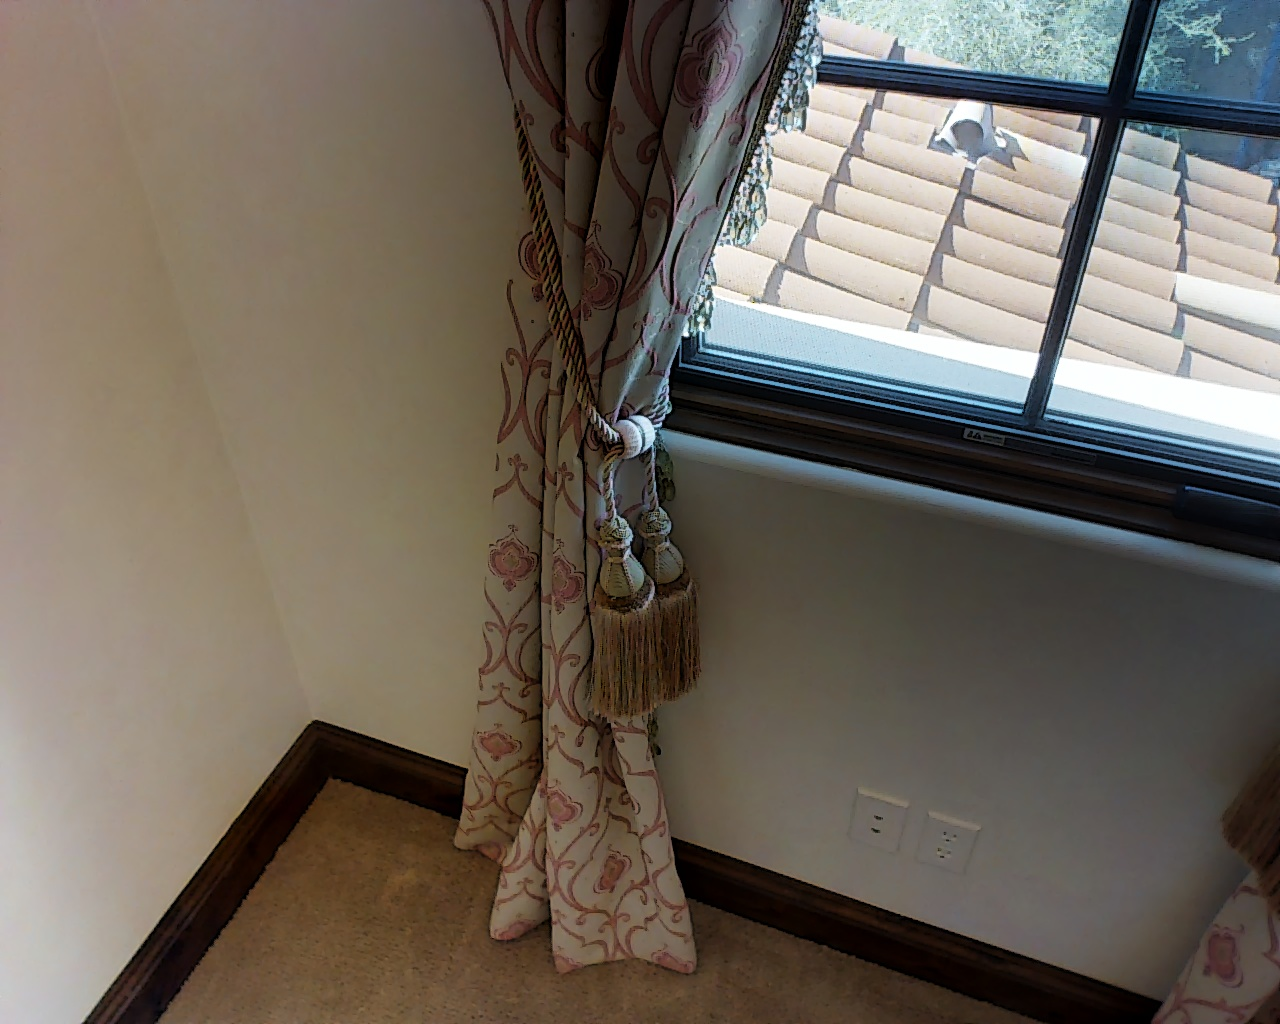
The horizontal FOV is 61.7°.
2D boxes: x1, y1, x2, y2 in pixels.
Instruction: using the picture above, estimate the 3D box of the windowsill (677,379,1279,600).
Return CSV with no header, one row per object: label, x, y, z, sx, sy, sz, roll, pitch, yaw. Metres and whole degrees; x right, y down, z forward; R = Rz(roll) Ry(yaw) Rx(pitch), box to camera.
windowsill,0.390,-0.020,1.090,0.720,0.060,0.080,14,42,17
